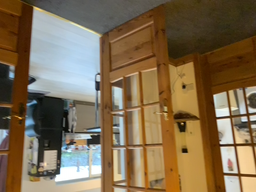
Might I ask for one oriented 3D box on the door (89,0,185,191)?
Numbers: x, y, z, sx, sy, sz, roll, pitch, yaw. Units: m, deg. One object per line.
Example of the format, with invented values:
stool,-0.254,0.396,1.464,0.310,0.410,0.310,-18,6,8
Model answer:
door,0.000,0.240,1.940,0.950,2.070,0.160,-14,163,42
